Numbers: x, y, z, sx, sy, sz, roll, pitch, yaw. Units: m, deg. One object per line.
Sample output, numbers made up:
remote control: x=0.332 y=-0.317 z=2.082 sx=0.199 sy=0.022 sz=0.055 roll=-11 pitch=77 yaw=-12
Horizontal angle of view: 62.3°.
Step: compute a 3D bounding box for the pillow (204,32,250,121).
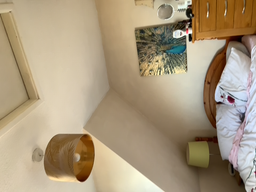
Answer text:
pillow: x=1.080 y=-0.210 z=2.260 sx=0.210 sy=0.530 sz=0.750 roll=13 pitch=130 yaw=45
